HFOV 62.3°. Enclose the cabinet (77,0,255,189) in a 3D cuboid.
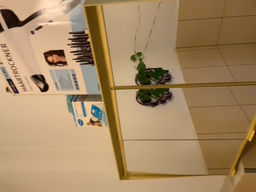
[{"bbox_3d":[0.150,0.040,0.630,0.150,0.410,0.700,-83,-9,-47],"label":"cabinet"}]
